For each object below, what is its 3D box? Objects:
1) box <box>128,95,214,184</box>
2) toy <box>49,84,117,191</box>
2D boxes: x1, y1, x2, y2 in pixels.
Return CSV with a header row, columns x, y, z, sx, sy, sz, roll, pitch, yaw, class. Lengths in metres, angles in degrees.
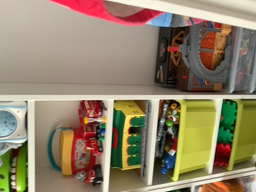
x,y,z,sx,sy,sz,roll,pitch,yaw,class
0.190,0.180,1.030,0.290,0.260,0.330,-162,75,-65,box
-0.200,0.160,0.860,0.270,0.200,0.390,-162,75,-65,toy
